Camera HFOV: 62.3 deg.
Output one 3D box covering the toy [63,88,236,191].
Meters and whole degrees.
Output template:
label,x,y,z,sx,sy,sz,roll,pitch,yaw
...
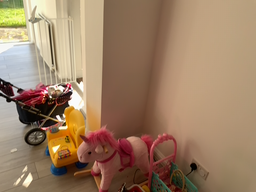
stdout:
label,x,y,z,sx,sy,sz,roll,pitch,yaw
toy,0.060,0.470,1.530,0.770,0.620,0.860,-12,35,-28
